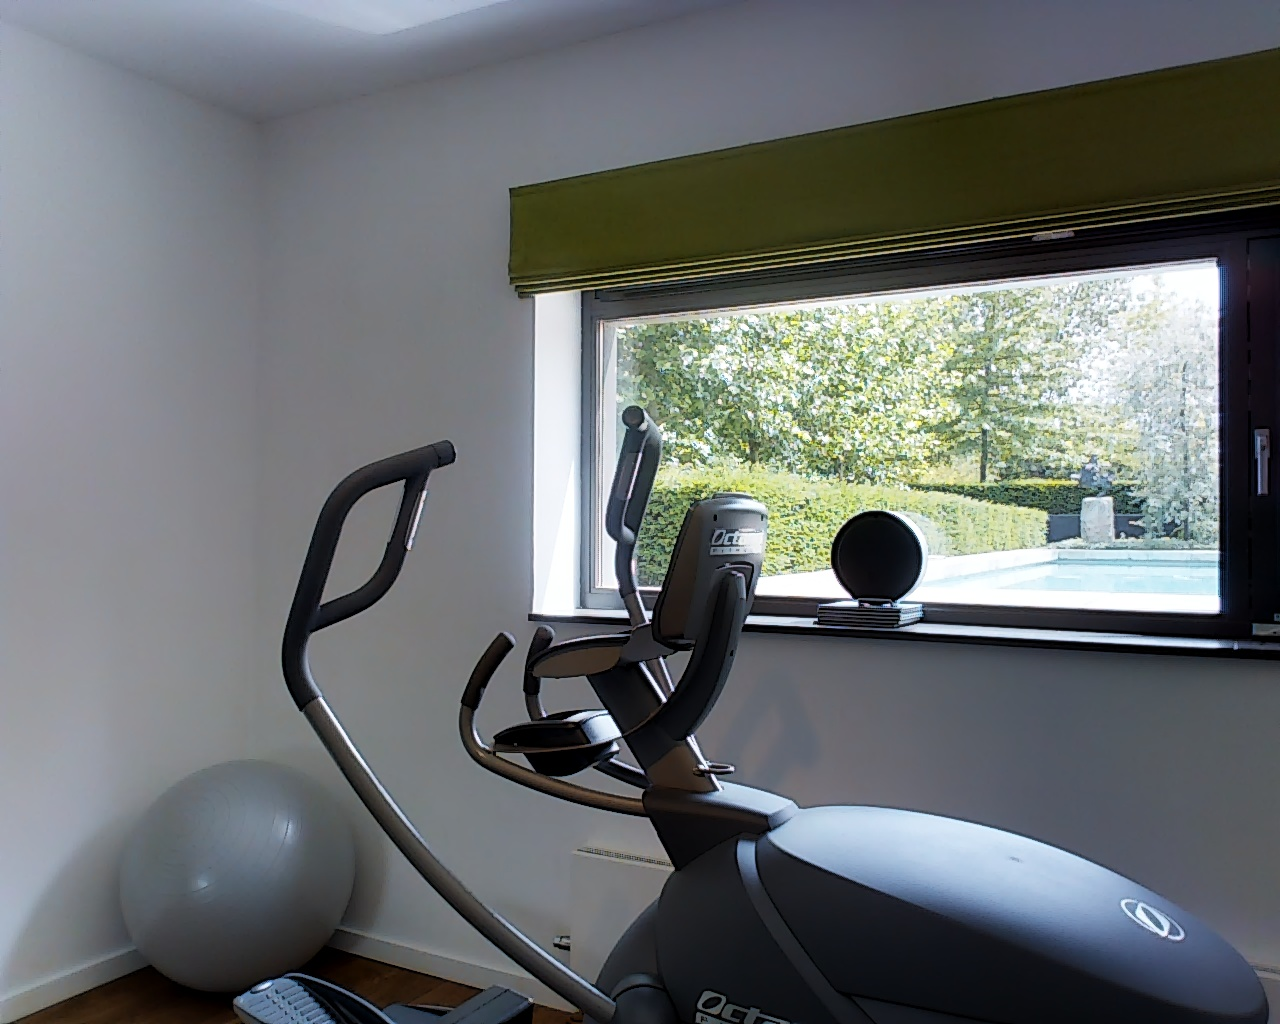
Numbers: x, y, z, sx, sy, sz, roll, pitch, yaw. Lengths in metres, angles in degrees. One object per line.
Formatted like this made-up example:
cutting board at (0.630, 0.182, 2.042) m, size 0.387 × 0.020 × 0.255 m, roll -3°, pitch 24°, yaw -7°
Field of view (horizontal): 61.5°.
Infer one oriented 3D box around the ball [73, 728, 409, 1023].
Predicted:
ball at (-1.200, 1.080, 3.290) m, size 0.680 × 0.660 × 0.680 m, roll 0°, pitch -1°, yaw 30°

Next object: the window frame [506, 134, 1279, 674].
window frame at (0.940, -0.220, 2.560) m, size 2.900 × 1.100 × 0.280 m, roll 0°, pitch -1°, yaw 30°
